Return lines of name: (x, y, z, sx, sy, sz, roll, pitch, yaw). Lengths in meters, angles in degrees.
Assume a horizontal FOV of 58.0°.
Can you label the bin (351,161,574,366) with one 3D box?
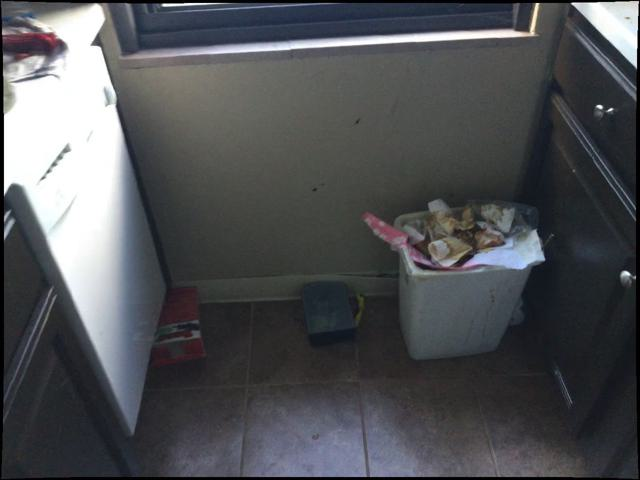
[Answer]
bin: (0.329, 0.070, 1.510, 0.459, 0.420, 0.290, -5, 45, 0)
